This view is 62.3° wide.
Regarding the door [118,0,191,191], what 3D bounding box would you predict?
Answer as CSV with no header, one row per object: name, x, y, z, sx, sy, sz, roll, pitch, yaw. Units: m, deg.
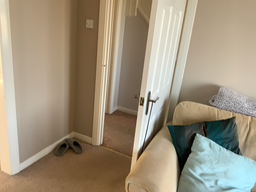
door,0.230,-0.110,1.610,0.100,1.950,0.740,15,20,23

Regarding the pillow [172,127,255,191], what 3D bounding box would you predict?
pillow,0.620,0.520,1.450,0.480,0.440,0.180,21,-11,21
